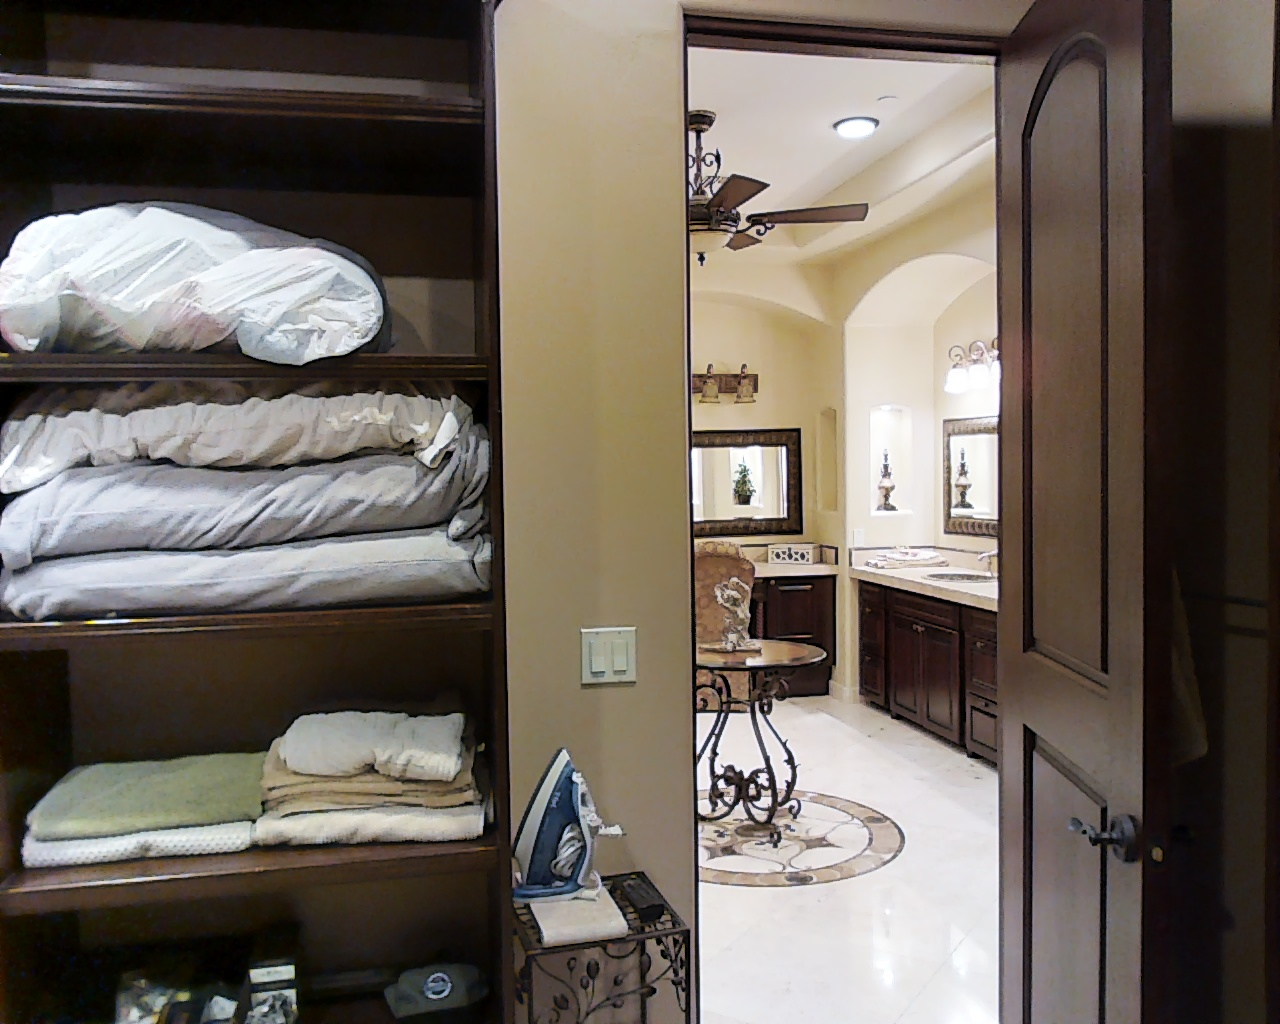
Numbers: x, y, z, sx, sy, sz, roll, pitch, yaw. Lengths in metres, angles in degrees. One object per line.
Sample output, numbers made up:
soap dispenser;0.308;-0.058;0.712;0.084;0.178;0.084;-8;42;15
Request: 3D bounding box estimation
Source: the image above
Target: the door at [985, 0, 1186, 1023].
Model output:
door;0.780;0.170;1.960;0.080;2.480;0.740;0;2;3
